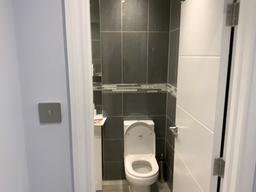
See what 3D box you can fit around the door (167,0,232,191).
[{"bbox_3d":[0.430,0.360,1.530,0.050,2.000,0.700,-1,11,-6],"label":"door"}]
